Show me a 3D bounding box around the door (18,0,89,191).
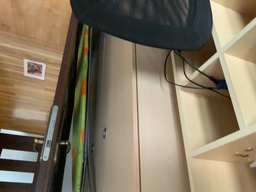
[{"bbox_3d":[-0.370,0.230,1.130,0.100,2.010,0.780,7,148,-11],"label":"door"}]
